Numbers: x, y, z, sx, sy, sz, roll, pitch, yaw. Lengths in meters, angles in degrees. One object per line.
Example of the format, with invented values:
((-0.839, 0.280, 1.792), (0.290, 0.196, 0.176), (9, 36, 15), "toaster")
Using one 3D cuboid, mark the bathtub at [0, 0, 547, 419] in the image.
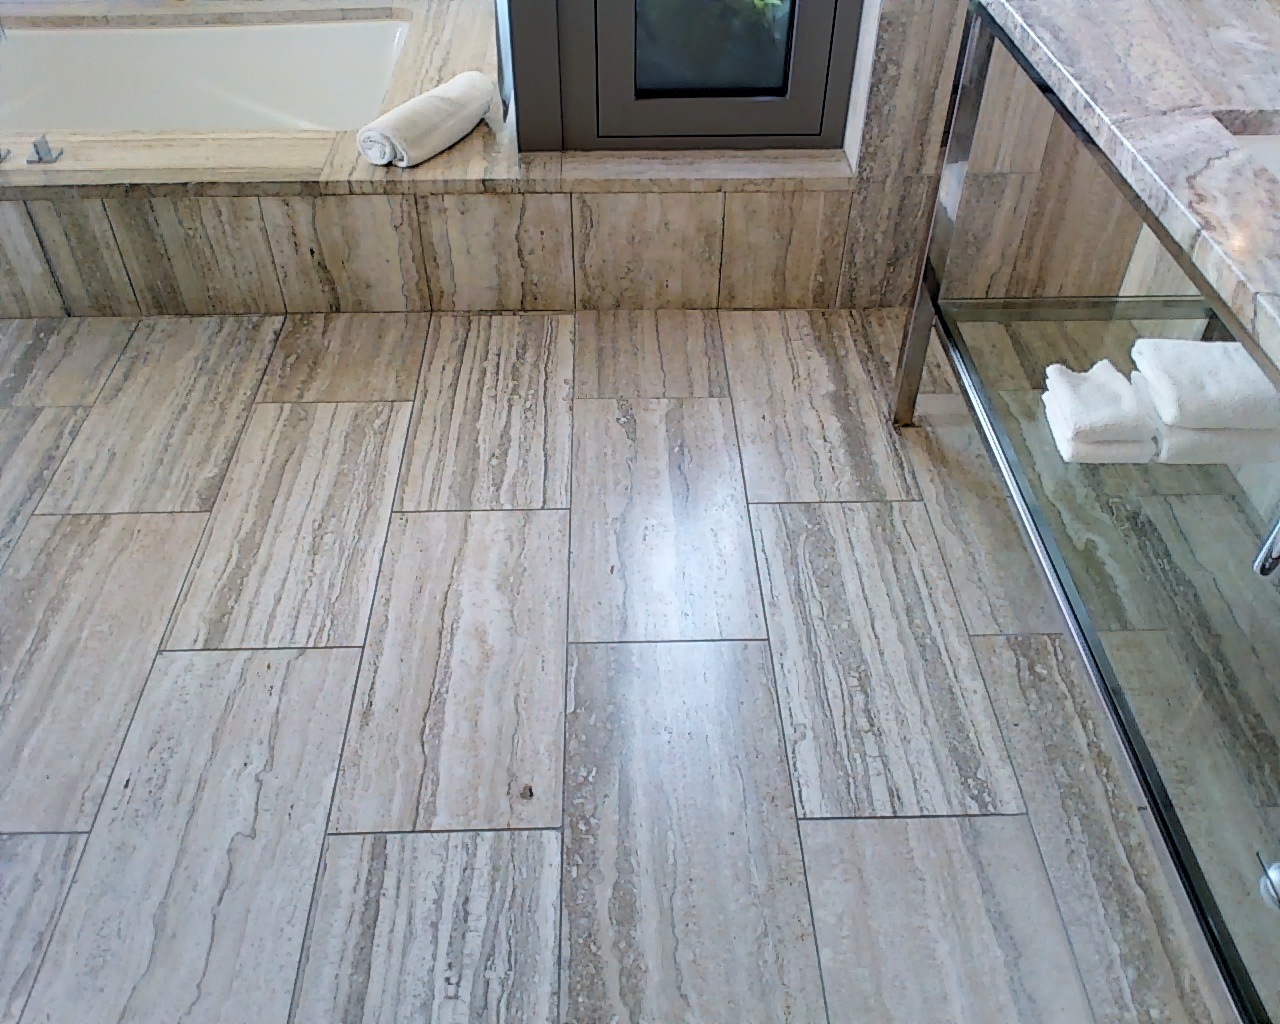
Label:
((-1.360, -0.850, 2.670), (2.190, 0.640, 1.180), (-2, 42, -2), "bathtub")
